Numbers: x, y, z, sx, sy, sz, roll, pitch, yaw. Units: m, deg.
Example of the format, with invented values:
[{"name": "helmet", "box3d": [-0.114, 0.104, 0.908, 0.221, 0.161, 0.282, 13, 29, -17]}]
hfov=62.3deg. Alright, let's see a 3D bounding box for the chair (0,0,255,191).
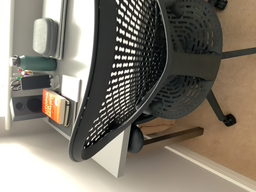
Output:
[{"name": "chair", "box3d": [0.120, -0.200, 0.920, 0.690, 1.030, 0.700, 21, 107, 43]}]
